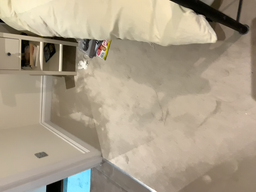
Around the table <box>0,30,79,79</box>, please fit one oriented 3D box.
[{"bbox_3d":[-0.970,-0.400,2.090,0.530,0.750,0.380,16,104,41],"label":"table"}]
